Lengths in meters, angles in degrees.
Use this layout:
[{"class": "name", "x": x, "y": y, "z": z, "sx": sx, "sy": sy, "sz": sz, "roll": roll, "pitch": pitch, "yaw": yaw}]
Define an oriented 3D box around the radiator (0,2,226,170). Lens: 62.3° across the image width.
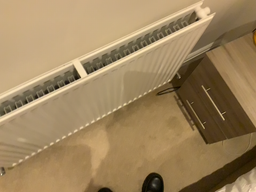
[{"class": "radiator", "x": -0.140, "y": 0.030, "z": 0.950, "sx": 1.030, "sy": 0.650, "sz": 0.070, "roll": -28, "pitch": 75, "yaw": -12}]
